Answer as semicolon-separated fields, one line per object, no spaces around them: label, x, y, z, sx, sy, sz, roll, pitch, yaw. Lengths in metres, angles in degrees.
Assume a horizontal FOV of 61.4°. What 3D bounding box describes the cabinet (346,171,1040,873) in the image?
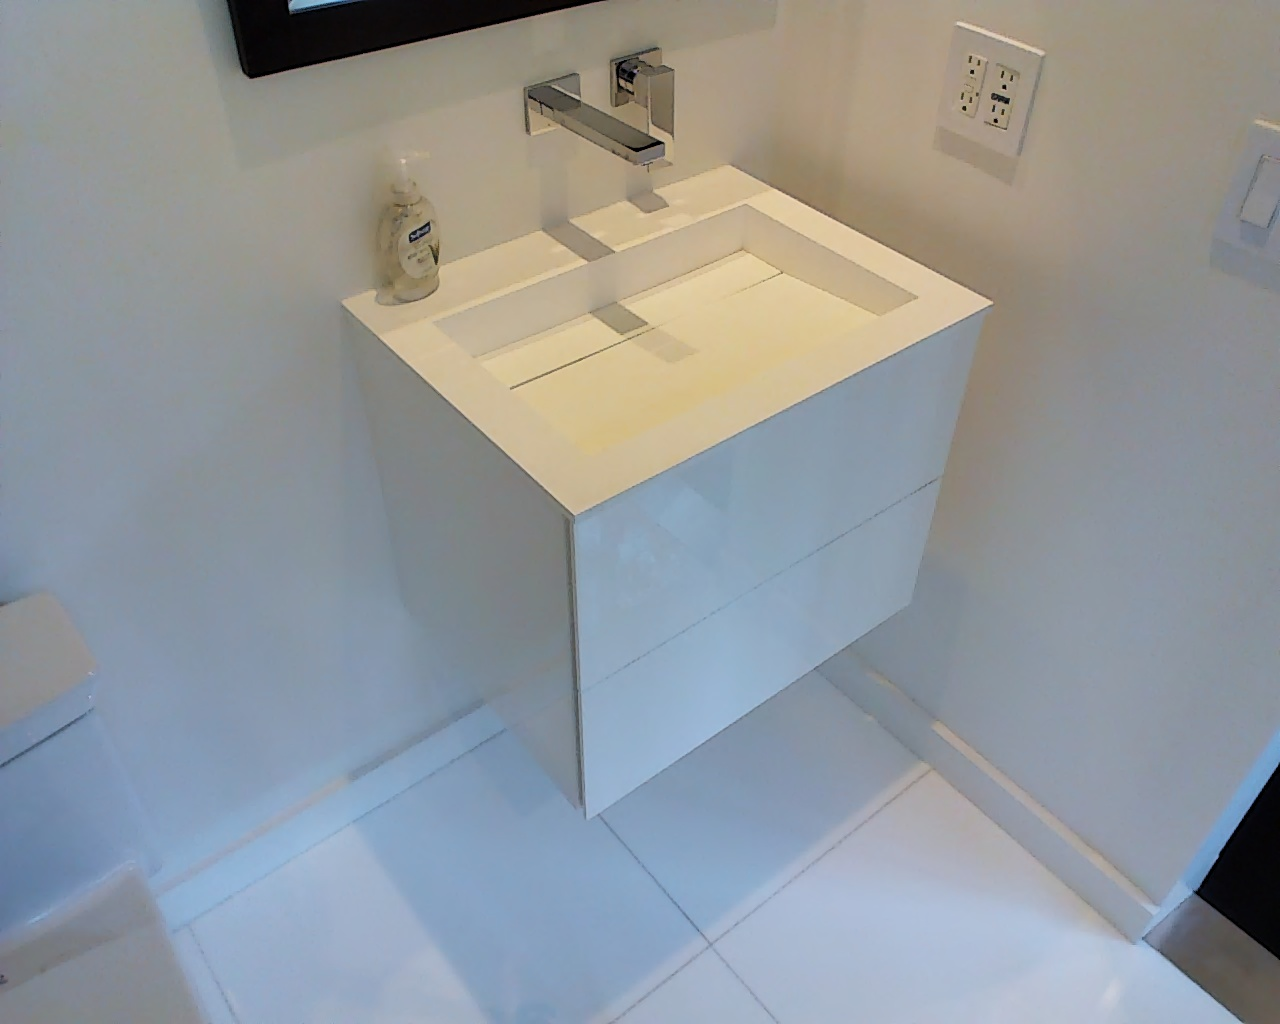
cabinet;0.070;-0.020;1.460;0.690;0.580;0.450;-27;48;-28
